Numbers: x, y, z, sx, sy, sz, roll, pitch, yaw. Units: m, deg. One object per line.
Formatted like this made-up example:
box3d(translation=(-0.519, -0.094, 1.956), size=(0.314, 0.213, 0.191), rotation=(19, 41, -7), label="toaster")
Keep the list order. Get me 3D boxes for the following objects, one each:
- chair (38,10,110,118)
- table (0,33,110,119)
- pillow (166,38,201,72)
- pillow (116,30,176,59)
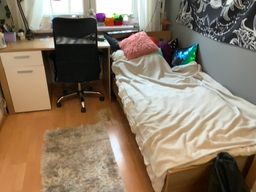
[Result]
box3d(translation=(-0.590, -0.400, 2.510), size=(0.640, 1.070, 0.660), rotation=(-5, 30, -13), label="chair")
box3d(translation=(-0.900, -0.310, 2.660), size=(1.230, 0.750, 0.730), rotation=(-6, 30, -15), label="table")
box3d(translation=(0.660, -0.510, 2.590), size=(0.210, 0.280, 0.410), rotation=(-5, 30, -13), label="pillow")
box3d(translation=(0.200, -0.670, 2.690), size=(0.610, 0.190, 0.550), rotation=(-5, 30, -13), label="pillow")
